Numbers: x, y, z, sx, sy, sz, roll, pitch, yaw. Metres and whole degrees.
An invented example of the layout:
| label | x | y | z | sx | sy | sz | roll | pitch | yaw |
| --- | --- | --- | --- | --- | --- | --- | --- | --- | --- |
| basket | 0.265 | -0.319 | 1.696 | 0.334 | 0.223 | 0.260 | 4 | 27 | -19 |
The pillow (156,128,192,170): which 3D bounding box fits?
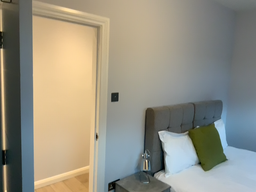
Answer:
| label | x | y | z | sx | sy | sz | roll | pitch | yaw |
| --- | --- | --- | --- | --- | --- | --- | --- | --- | --- |
| pillow | 0.540 | 0.610 | 2.430 | 0.490 | 0.430 | 0.120 | 15 | -15 | -40 |
